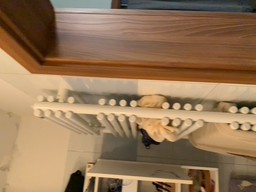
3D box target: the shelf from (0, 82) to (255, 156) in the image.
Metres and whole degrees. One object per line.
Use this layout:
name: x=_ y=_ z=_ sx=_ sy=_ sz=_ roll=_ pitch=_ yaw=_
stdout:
shelf: x=0.280 y=0.190 z=1.160 sx=0.860 sy=1.490 sz=0.120 roll=83 pitch=-169 yaw=-72
